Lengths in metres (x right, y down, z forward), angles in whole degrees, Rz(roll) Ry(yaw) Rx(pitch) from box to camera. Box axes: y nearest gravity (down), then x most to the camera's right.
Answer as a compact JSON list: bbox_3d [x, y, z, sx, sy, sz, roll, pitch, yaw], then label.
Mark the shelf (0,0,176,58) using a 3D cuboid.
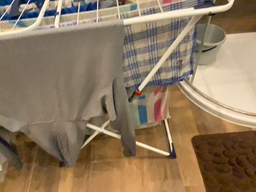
[{"bbox_3d":[-0.270,-0.340,0.740,0.740,0.060,0.520,-7,50,-3],"label":"shelf"}]
